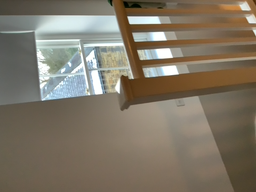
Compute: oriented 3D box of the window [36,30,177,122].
[{"bbox_3d":[-0.230,-0.300,2.400,0.090,1.420,0.980,126,134,-63],"label":"window"}]
